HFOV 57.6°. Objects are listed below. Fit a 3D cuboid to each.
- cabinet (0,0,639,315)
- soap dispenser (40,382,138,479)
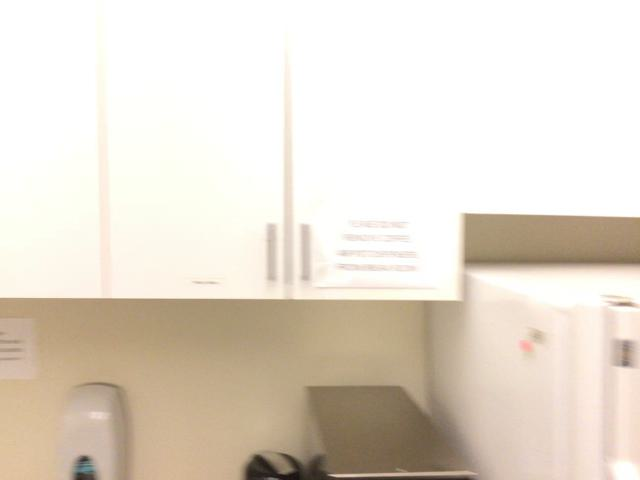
[{"bbox_3d":[-0.230,-0.150,0.950,2.590,0.520,0.140,0,2,-5],"label":"cabinet"},{"bbox_3d":[-0.490,0.470,1.250,0.170,0.300,0.110,0,2,-5],"label":"soap dispenser"}]
